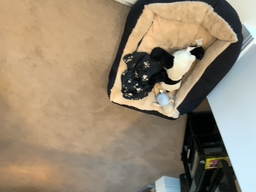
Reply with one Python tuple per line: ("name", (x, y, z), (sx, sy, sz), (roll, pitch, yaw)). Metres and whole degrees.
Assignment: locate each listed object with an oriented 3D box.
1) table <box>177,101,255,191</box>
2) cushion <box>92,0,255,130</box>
("table", (0.730, 0.480, 1.880), (0.470, 0.410, 0.780), (-6, 137, 4))
("cushion", (0.220, -0.200, 1.260), (0.630, 0.220, 0.930), (14, 135, -17))
